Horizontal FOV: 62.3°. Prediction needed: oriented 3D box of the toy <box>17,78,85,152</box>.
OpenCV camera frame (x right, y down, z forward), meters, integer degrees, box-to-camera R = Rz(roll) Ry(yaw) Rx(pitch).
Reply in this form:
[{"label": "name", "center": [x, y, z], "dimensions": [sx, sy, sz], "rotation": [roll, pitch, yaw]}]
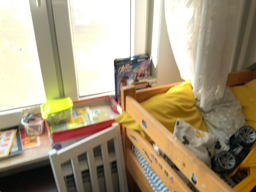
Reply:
[{"label": "toy", "center": [-0.400, 0.090, 1.130], "dimensions": [0.280, 0.290, 0.200], "rotation": [-9, 27, -20]}]
